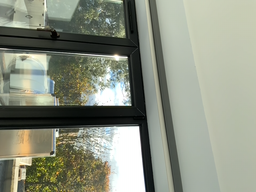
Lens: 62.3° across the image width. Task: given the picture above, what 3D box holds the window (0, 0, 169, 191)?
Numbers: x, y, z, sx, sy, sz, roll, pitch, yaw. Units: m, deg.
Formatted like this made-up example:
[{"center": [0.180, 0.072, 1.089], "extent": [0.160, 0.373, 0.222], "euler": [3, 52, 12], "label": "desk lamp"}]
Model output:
[{"center": [-0.520, -0.370, 1.540], "extent": [0.080, 1.440, 2.300], "euler": [129, -41, -64], "label": "window"}]
